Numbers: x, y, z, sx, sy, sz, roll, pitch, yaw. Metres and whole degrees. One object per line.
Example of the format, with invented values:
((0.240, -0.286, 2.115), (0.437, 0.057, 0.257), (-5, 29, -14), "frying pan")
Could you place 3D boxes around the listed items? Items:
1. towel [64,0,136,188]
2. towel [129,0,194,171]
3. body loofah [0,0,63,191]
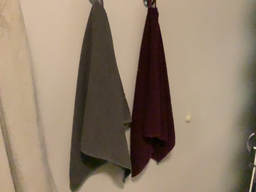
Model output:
((-0.090, -0.020, 0.790), (0.220, 0.700, 0.100), (-8, 17, -25), "towel")
((0.130, -0.050, 0.890), (0.220, 0.700, 0.110), (-8, 17, -26), "towel")
((-0.350, 0.250, 0.670), (0.240, 1.330, 0.200), (-8, 17, -25), "body loofah")
